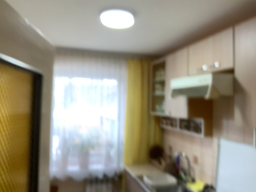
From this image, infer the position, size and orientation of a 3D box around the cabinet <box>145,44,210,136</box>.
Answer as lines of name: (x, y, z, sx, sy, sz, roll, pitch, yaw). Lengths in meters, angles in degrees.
cabinet: (0.560, -0.050, 2.690, 0.320, 0.940, 1.030, 2, -2, -17)
